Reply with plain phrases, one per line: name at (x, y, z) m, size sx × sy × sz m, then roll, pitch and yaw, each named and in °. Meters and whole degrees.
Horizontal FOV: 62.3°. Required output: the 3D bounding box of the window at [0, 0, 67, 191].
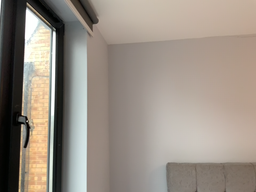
window at (-0.550, 0.050, 1.040) m, size 0.040 × 1.530 × 1.120 m, roll -2°, pitch -7°, yaw 6°
